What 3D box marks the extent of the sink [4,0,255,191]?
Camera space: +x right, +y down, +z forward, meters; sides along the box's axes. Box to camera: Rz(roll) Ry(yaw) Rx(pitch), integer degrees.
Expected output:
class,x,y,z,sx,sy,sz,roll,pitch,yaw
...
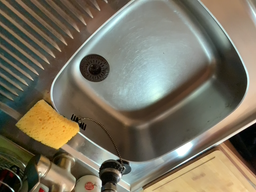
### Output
class,x,y,z,sx,sy,sz,roll,pitch,yaw
sink,0.030,-0.010,0.570,0.450,0.270,0.390,-37,118,19
